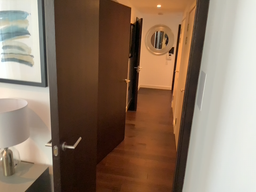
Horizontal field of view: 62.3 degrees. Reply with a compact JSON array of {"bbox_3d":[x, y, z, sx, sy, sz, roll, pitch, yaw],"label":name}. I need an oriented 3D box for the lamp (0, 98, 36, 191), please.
[{"bbox_3d":[-0.940,0.330,1.550,0.370,0.570,0.280,5,16,7],"label":"lamp"}]
